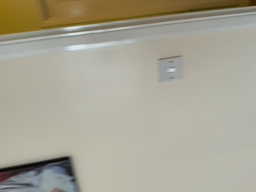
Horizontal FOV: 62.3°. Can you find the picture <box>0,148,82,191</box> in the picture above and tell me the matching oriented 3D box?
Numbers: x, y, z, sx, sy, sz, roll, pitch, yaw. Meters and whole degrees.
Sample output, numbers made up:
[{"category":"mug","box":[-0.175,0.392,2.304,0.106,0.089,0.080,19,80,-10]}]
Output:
[{"category":"picture","box":[-0.440,0.440,0.880,0.040,0.480,0.410,-114,16,-65]}]
